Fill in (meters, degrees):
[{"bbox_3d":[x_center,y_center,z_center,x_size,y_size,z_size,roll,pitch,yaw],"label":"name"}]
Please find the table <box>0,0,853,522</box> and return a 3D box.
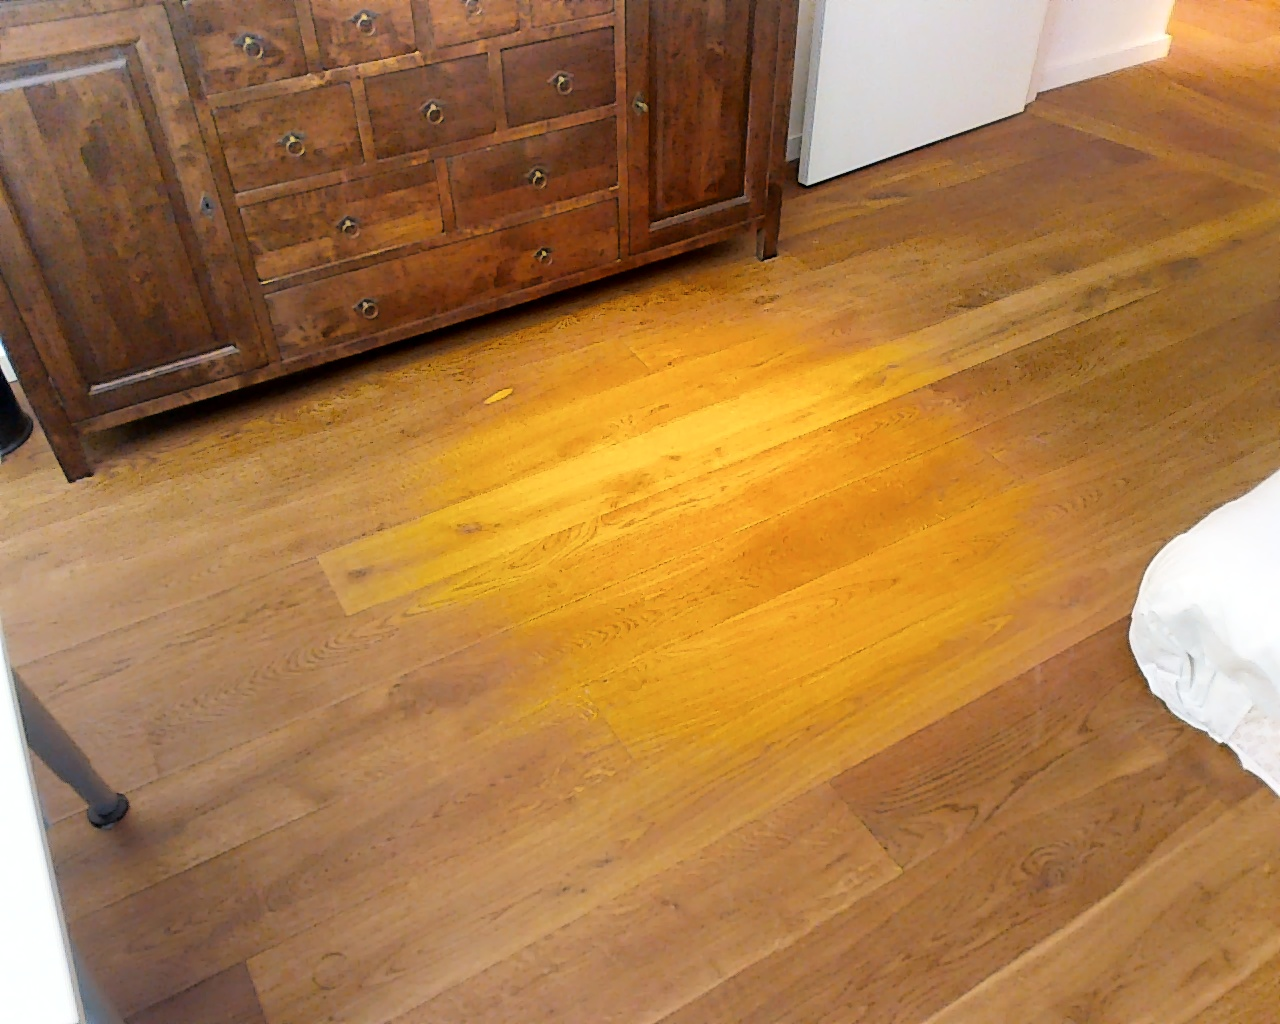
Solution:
[{"bbox_3d":[-0.500,-0.840,2.290,1.930,0.990,0.550,-22,47,-22],"label":"table"}]
